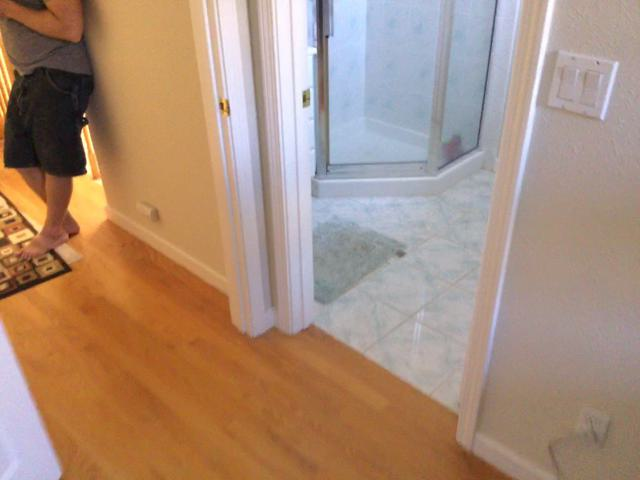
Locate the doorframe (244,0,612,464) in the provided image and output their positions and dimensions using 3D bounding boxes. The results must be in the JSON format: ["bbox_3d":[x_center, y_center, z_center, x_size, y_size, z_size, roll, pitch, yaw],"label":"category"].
[{"bbox_3d":[0.210,-0.380,1.590,0.300,1.930,0.910,-27,40,-36],"label":"doorframe"}]

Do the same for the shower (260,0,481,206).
[{"bbox_3d":[0.260,-1.290,3.000,0.990,2.010,0.900,2,31,5],"label":"shower"}]
